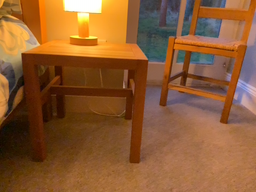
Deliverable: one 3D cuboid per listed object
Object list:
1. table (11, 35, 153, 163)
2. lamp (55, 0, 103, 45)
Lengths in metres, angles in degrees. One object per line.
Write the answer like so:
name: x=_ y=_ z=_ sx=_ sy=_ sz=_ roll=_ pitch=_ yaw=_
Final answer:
table: x=-0.180 y=-0.020 z=1.010 sx=0.470 sy=0.440 sz=0.470 roll=3 pitch=22 yaw=-5
lamp: x=-0.210 y=-0.400 z=0.950 sx=0.180 sy=0.300 sz=0.170 roll=3 pitch=22 yaw=-4
